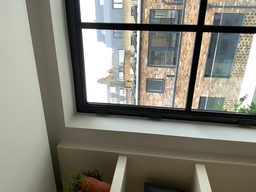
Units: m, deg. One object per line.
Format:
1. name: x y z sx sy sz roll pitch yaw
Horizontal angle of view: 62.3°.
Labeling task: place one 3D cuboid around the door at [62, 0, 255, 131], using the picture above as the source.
1. door: 0.800 -0.310 1.100 0.070 2.320 1.120 -72 -15 -65

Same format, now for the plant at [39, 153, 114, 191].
1. plant: -0.250 0.520 1.130 0.300 0.300 0.260 -74 -14 -62
